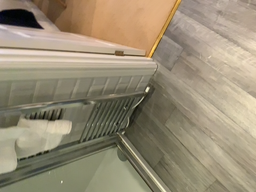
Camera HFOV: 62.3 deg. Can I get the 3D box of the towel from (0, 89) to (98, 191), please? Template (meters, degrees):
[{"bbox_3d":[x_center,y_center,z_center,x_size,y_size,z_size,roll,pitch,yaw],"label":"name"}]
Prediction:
[{"bbox_3d":[-0.610,0.230,0.820,0.180,0.950,0.410,48,125,27],"label":"towel"}]
